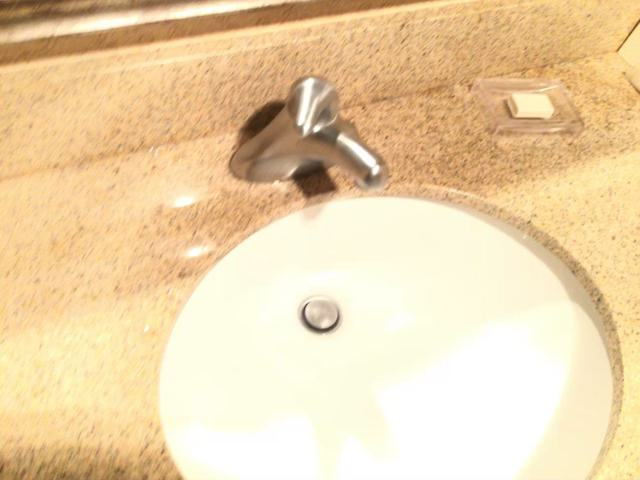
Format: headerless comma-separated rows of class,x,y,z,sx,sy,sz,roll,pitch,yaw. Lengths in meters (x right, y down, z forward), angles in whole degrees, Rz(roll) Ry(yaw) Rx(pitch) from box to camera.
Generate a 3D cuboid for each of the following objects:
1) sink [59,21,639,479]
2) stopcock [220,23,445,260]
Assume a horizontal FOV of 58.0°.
sink,0.060,0.070,0.520,0.420,0.290,0.380,-18,58,-22
stopcock,0.000,-0.090,0.520,0.140,0.130,0.130,-18,58,-22
